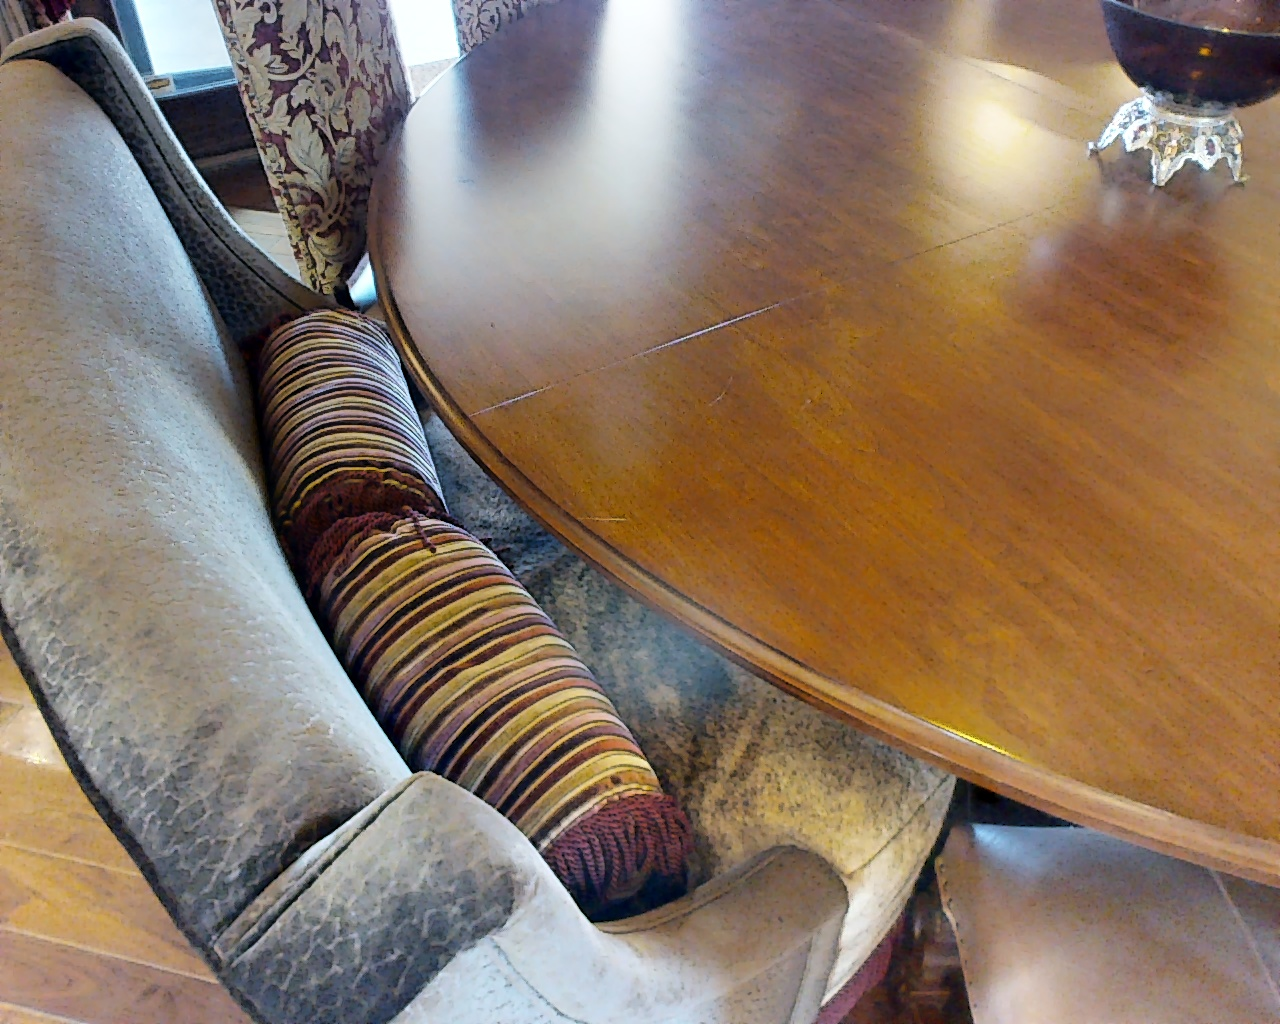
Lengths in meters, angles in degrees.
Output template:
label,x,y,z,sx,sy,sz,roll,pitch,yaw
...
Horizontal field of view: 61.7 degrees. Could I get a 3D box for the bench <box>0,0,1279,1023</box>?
label,x,y,z,sx,sy,sz,roll,pitch,yaw
bench,-0.270,0.080,1.450,0.930,1.100,1.630,-23,47,-23
